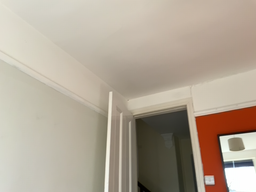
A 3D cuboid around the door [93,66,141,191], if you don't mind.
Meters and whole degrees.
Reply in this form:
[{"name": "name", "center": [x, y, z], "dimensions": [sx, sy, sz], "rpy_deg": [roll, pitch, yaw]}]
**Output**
[{"name": "door", "center": [-0.070, 0.960, 2.200], "dimensions": [0.160, 2.430, 0.920], "rpy_deg": [-10, -28, 17]}]
